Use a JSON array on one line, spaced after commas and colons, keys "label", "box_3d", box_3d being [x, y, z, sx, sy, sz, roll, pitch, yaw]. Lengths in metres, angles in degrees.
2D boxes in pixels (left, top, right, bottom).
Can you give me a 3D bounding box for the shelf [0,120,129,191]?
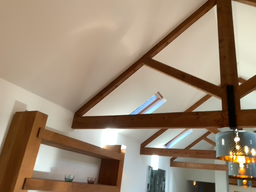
[{"label": "shelf", "box_3d": [-0.760, 1.690, 2.600, 0.430, 2.280, 2.090, -5, -24, 27]}]
